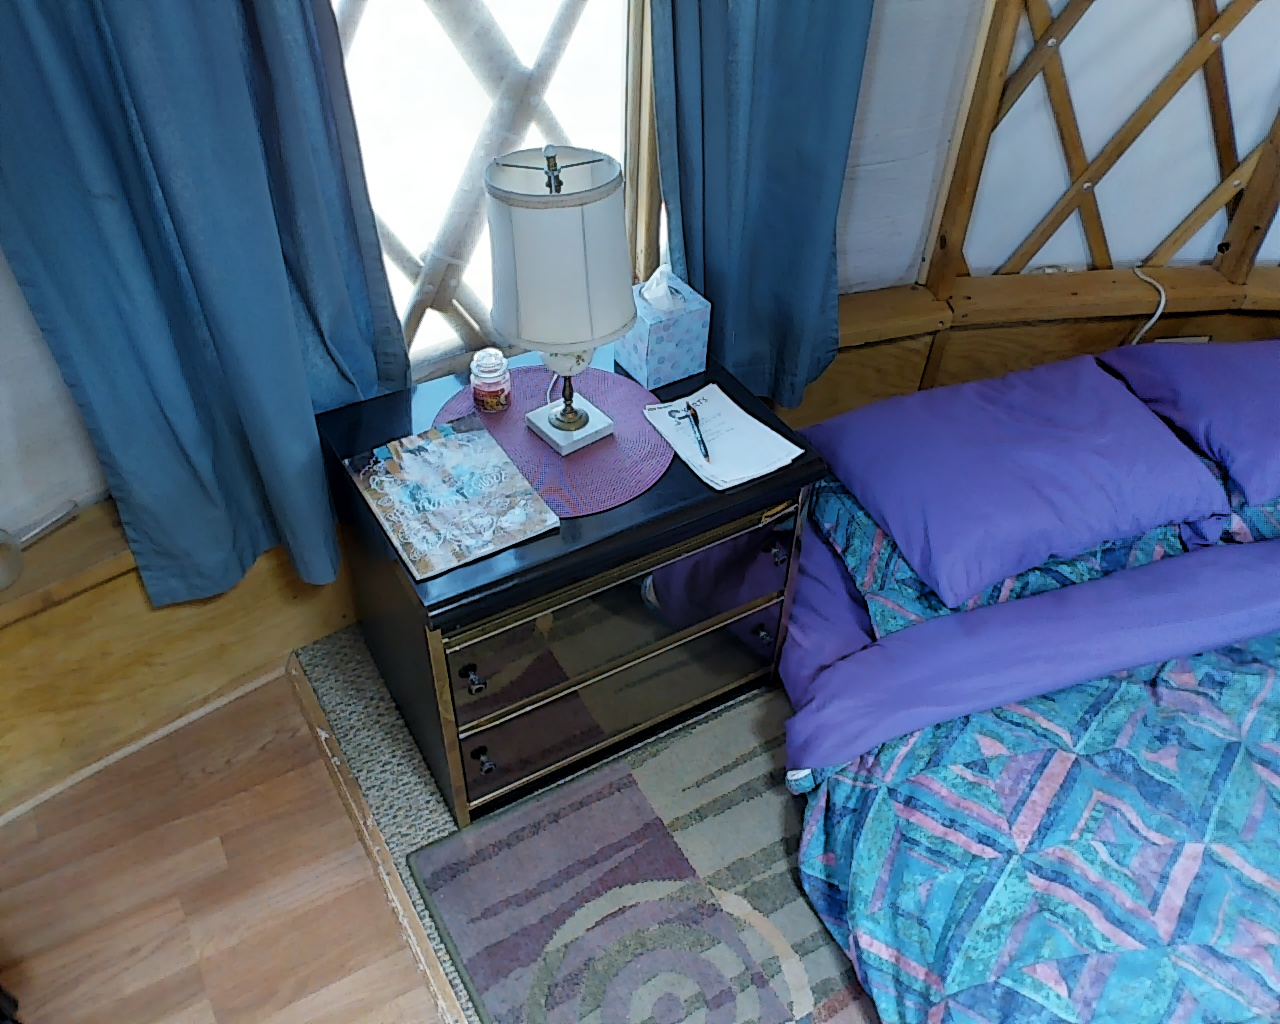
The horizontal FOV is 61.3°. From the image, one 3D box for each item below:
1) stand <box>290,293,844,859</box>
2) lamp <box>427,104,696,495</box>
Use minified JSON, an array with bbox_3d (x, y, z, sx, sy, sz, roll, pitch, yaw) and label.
[{"bbox_3d":[-0.130,0.080,1.820,0.670,0.560,0.540,-19,46,-21],"label":"stand"},{"bbox_3d":[-0.110,-0.300,1.530,0.250,0.420,0.270,-21,47,-23],"label":"lamp"}]
